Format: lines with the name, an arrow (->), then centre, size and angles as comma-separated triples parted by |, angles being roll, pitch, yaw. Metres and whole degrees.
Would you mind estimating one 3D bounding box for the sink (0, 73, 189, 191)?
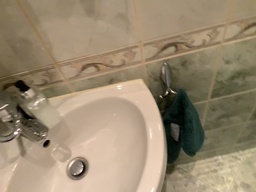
sink -> -0.090, 0.200, 0.530 | 0.410, 0.190, 0.410 | -13, 54, 2
